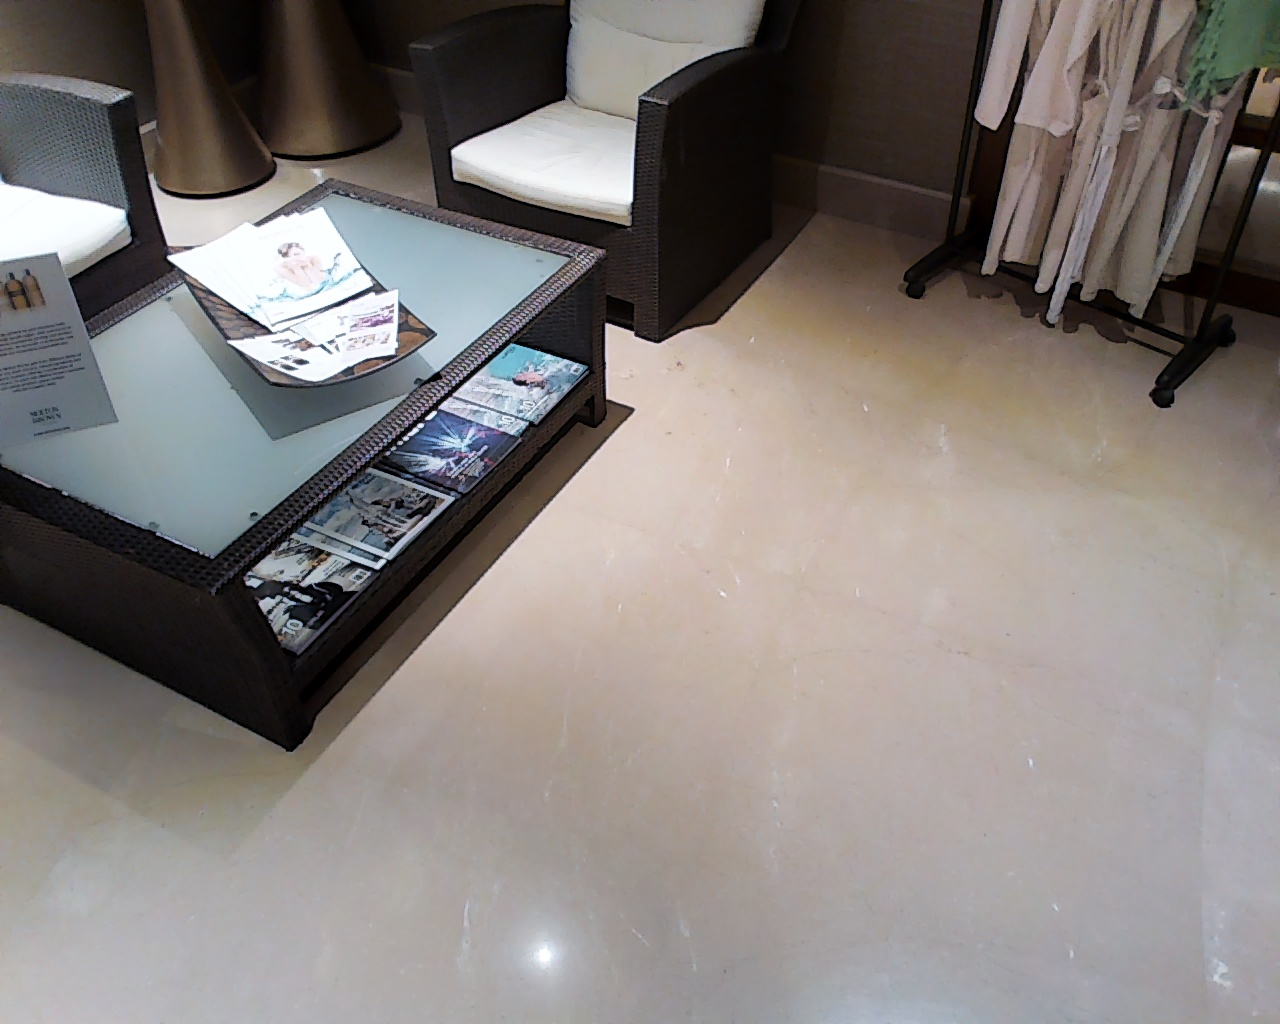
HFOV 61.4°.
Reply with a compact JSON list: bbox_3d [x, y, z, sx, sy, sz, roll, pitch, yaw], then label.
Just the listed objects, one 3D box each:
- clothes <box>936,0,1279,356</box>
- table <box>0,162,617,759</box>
[{"bbox_3d":[1.250,-1.120,2.540,0.720,1.240,0.520,23,47,23],"label":"clothes"},{"bbox_3d":[-0.710,-0.220,2.300,0.830,0.430,1.230,19,46,20],"label":"table"}]
